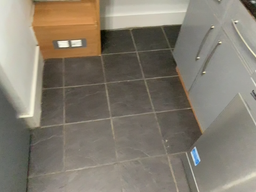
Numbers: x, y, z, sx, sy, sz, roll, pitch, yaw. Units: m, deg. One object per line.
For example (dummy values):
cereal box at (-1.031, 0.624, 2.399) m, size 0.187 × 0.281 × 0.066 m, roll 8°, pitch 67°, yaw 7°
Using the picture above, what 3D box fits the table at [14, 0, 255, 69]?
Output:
table at (0.040, -0.950, 1.740) m, size 1.620 × 0.900 × 0.960 m, roll -6°, pitch 56°, yaw -9°
